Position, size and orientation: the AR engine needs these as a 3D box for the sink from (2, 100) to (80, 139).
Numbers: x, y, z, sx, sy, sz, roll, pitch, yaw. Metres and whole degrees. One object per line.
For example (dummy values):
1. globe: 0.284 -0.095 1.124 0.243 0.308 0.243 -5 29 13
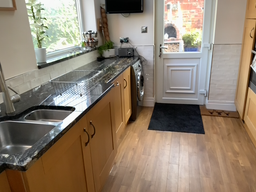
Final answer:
1. sink: -0.580 0.150 1.440 0.430 0.160 0.200 3 21 15

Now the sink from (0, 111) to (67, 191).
1. sink: -0.710 0.300 1.200 0.550 0.270 0.390 3 21 15
